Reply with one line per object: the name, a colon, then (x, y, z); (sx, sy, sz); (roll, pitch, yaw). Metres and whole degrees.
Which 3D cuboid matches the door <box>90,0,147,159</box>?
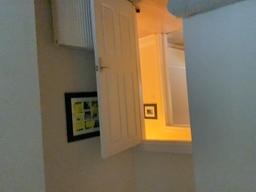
door: (-0.090, -0.360, 2.840); (0.070, 2.120, 0.990); (-4, 180, 33)
